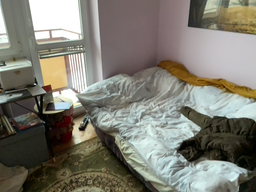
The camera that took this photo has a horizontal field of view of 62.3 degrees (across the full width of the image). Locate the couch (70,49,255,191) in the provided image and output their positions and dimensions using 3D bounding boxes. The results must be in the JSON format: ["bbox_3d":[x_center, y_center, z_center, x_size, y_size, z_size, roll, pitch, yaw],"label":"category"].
[{"bbox_3d":[0.420,0.130,2.170,1.320,0.760,1.870,-16,28,-31],"label":"couch"}]

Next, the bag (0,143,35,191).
[{"bbox_3d":[-1.050,0.640,1.690,0.450,0.240,0.320,-21,31,-38],"label":"bag"}]

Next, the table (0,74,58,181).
[{"bbox_3d":[-1.200,0.300,1.870,0.890,0.720,0.510,-17,29,-33],"label":"table"}]
